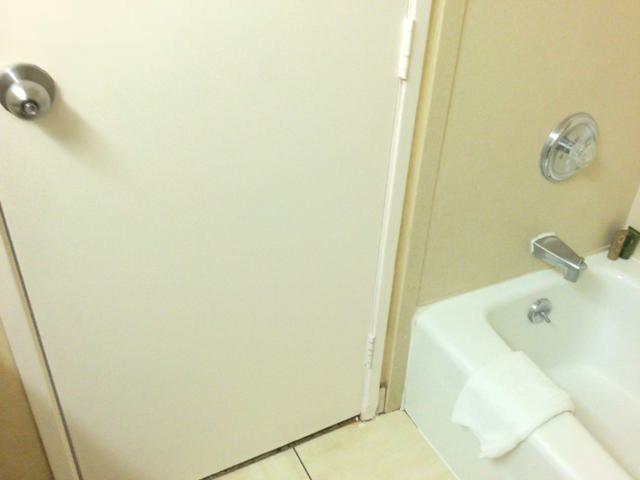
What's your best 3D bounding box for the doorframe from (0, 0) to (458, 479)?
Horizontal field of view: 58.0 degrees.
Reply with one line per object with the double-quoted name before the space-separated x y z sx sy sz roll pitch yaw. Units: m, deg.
"doorframe" -0.150 -0.220 0.940 0.870 1.900 0.030 -15 37 -23
